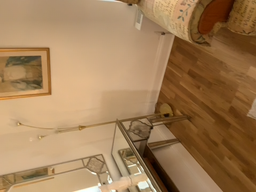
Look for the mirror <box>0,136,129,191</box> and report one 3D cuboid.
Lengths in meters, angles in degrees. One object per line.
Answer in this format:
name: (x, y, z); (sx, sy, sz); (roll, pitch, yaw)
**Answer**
mirror: (-0.420, 0.890, 1.460); (1.450, 0.990, 0.090); (-126, 39, -47)
